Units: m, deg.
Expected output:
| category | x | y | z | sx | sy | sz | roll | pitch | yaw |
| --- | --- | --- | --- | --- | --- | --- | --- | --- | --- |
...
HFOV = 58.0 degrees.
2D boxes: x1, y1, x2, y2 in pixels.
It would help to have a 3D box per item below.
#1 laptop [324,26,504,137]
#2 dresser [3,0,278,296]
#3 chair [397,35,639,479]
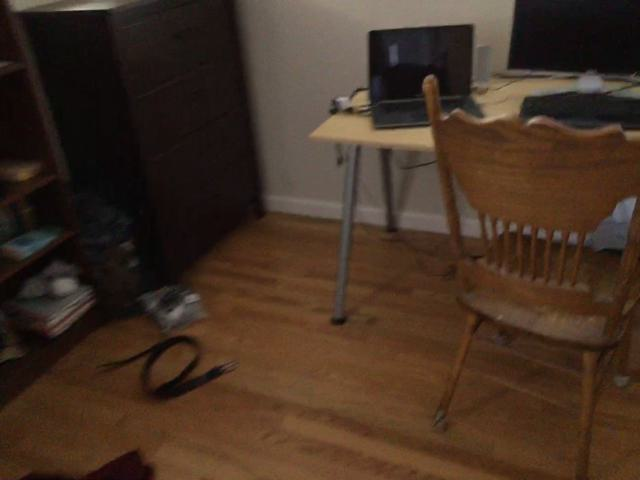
| category | x | y | z | sx | sy | sz | roll | pitch | yaw |
| --- | --- | --- | --- | --- | --- | --- | --- | --- | --- |
| laptop | 0.310 | -0.550 | 1.970 | 0.530 | 0.240 | 0.440 | -2 | 28 | 8 |
| dresser | -0.690 | -0.500 | 2.600 | 0.520 | 1.160 | 0.850 | 7 | 30 | 24 |
| chair | 0.590 | 0.040 | 1.530 | 0.590 | 1.010 | 0.570 | 7 | 30 | 24 |
